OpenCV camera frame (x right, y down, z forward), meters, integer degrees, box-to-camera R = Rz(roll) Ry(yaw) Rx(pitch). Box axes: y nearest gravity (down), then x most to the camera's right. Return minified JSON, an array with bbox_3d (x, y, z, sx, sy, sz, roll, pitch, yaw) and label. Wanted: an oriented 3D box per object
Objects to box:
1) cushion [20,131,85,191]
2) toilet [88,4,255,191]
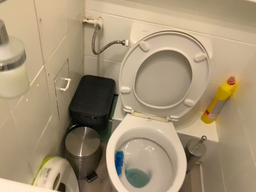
[{"bbox_3d":[-0.310,0.400,0.930,0.150,0.360,0.310,12,44,0],"label":"cushion"},{"bbox_3d":[0.090,0.130,0.980,0.370,0.790,0.660,12,44,0],"label":"toilet"}]
